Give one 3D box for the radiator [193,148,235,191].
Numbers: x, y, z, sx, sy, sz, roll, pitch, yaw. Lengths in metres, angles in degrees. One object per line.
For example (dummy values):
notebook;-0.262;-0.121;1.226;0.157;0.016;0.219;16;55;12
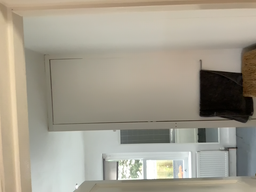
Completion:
radiator;1.370;1.400;3.370;0.050;0.630;1.130;-47;-45;-88
